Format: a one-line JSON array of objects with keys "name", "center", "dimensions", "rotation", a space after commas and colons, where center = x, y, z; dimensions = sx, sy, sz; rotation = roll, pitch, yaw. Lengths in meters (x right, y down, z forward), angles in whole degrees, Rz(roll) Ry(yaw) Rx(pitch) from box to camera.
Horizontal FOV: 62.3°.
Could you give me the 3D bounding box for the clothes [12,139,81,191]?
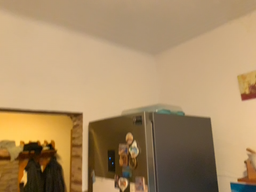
[{"name": "clothes", "center": [-1.280, 1.300, 3.390], "dimensions": [0.960, 1.170, 0.340], "rotation": [7, -14, -37]}]
